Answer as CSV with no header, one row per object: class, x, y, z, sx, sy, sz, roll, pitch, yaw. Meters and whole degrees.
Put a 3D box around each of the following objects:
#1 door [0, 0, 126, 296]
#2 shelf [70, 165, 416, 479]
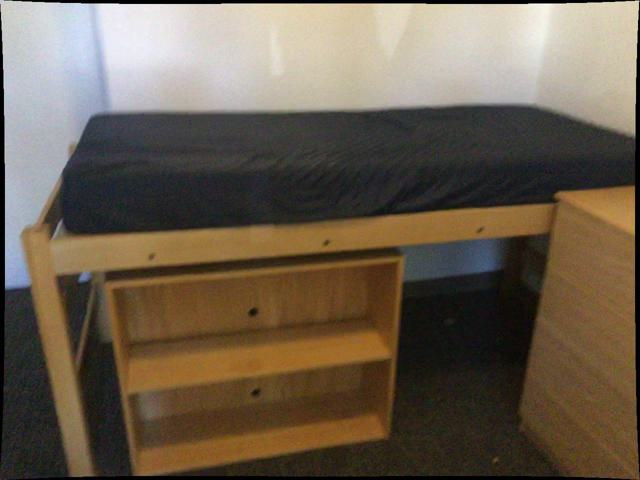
door,-1.388,-0.631,2.650,0.789,1.983,0.090,-4,27,-16
shelf,-0.349,0.260,2.280,1.008,0.801,1.030,-4,26,-16
